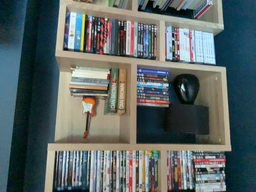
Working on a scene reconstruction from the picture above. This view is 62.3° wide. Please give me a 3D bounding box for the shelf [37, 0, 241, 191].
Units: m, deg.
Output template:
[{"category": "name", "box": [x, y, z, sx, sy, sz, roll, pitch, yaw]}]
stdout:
[{"category": "shelf", "box": [0.080, -0.350, 1.240, 0.950, 1.830, 0.340, 4, 170, -14]}]
